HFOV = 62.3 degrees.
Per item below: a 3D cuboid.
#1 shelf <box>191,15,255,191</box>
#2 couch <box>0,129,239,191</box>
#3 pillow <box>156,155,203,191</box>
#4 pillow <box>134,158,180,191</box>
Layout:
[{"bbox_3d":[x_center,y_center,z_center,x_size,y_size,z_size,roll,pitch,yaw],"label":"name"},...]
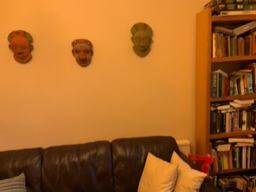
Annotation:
[{"bbox_3d":[1.080,0.200,2.240,0.710,1.960,0.290,-4,8,-7],"label":"shelf"},{"bbox_3d":[-0.400,0.920,1.750,2.100,0.840,1.050,-4,8,-7],"label":"couch"},{"bbox_3d":[0.400,0.690,1.700,0.130,0.400,0.380,17,-24,-28],"label":"pillow"},{"bbox_3d":[0.230,0.710,1.740,0.170,0.380,0.360,16,-22,-31],"label":"pillow"}]
